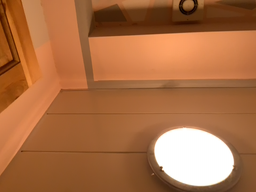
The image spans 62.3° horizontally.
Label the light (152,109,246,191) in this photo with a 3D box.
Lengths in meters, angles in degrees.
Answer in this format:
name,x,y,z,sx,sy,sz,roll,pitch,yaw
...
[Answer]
name,x,y,z,sx,sy,sz,roll,pitch,yaw
light,0.210,0.190,0.700,0.240,0.270,0.080,20,120,-7
